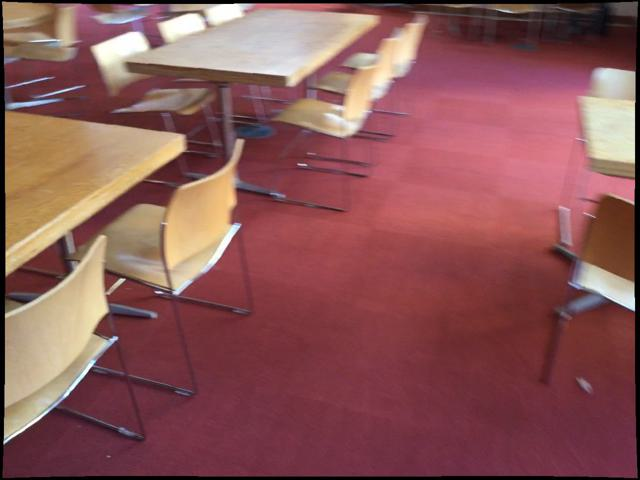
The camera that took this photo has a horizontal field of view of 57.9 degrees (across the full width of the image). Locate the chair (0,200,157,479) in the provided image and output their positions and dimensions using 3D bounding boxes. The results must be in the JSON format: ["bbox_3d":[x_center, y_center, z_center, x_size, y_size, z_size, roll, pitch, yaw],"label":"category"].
[{"bbox_3d":[-0.809,0.320,1.450,0.510,0.670,0.480,12,33,17],"label":"chair"}]

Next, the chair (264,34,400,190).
[{"bbox_3d":[0.070,-0.711,3.130,0.550,0.630,0.510,13,34,19],"label":"chair"}]

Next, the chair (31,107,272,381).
[{"bbox_3d":[-0.519,-0.010,2.010,0.520,0.701,0.520,12,33,17],"label":"chair"}]

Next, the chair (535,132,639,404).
[{"bbox_3d":[1.089,0.100,1.920,0.550,0.711,0.500,12,33,17],"label":"chair"}]

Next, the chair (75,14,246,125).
[{"bbox_3d":[-0.869,-0.991,3.290,0.669,0.400,0.620,12,33,17],"label":"chair"}]
